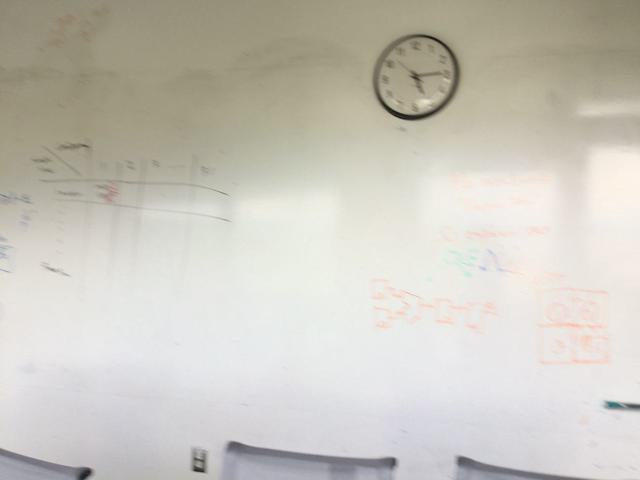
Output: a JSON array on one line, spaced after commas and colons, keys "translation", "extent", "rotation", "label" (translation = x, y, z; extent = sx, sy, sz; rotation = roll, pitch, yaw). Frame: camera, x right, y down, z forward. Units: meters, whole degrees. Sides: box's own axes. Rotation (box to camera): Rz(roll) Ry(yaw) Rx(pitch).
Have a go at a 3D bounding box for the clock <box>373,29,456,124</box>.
[{"translation": [0.370, -0.640, 2.280], "extent": [0.310, 0.350, 0.040], "rotation": [2, 2, 14], "label": "clock"}]
